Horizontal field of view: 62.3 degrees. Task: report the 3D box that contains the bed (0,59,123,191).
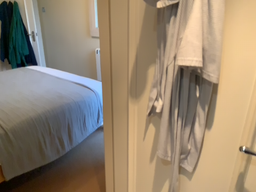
[{"bbox_3d":[-1.390,0.260,2.110,1.650,0.650,2.210,17,27,34],"label":"bed"}]
